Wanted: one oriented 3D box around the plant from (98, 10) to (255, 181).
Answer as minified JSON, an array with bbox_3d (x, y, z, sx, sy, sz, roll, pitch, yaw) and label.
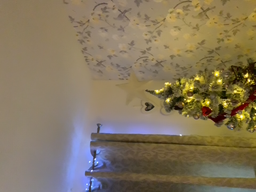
[{"bbox_3d":[0.870,0.030,1.330,0.710,1.890,0.820,83,-169,-57],"label":"plant"}]
